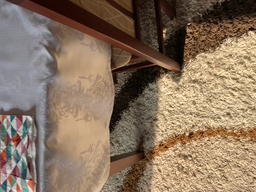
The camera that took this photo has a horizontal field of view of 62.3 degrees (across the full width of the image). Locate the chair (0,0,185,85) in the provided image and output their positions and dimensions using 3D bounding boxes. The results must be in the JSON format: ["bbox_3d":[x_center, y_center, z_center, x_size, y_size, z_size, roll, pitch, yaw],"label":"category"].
[{"bbox_3d":[-0.170,-0.300,0.830,0.510,0.980,0.380,-8,85,28],"label":"chair"}]
